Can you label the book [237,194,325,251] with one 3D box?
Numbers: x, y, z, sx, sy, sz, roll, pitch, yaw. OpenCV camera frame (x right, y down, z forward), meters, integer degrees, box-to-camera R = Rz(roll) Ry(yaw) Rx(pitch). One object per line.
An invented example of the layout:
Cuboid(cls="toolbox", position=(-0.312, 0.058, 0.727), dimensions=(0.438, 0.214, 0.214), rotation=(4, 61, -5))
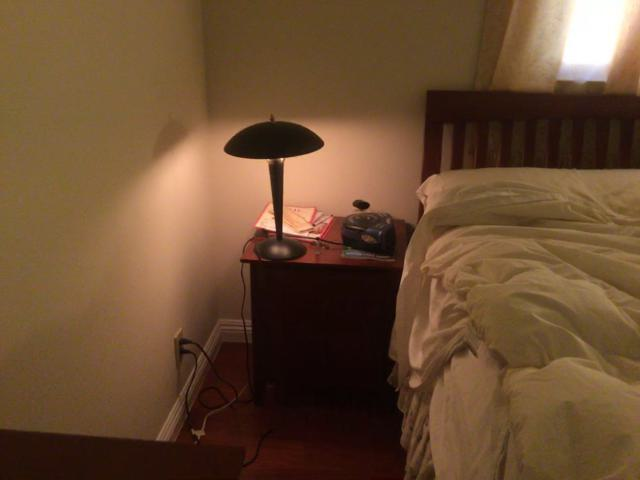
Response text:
Cuboid(cls="book", position=(-0.130, -0.070, 2.110), dimensions=(0.280, 0.100, 0.320), rotation=(-2, 21, 4))
